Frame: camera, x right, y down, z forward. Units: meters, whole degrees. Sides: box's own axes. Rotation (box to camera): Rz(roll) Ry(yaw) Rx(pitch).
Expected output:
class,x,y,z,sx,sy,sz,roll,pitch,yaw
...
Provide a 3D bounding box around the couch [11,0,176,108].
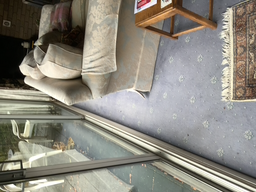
class,x,y,z,sx,sy,sz,roll,pitch,yaw
couch,-0.570,-0.620,2.310,1.960,0.890,1.200,10,94,53

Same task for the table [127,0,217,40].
class,x,y,z,sx,sy,sz,roll,pitch,yaw
table,0.310,-0.680,1.500,0.420,0.450,0.380,0,86,53
